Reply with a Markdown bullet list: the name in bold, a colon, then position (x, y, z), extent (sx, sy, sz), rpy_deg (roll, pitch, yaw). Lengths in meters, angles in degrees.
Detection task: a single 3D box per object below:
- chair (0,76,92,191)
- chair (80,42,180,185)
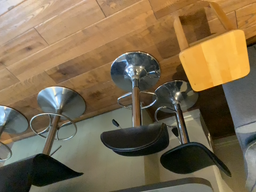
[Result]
- **chair**: position (-0.610, 0.400, 1.470), extent (0.410, 1.010, 0.430), rpy_deg (-17, 132, 17)
- **chair**: position (0.030, 0.080, 1.330), extent (0.390, 0.750, 0.370), rpy_deg (-17, 132, 17)
